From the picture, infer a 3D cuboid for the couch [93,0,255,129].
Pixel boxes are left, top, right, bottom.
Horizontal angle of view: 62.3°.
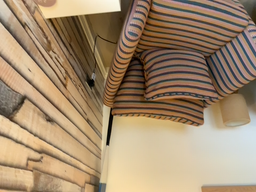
[{"bbox_3d":[0.290,-0.310,1.420,0.860,0.780,0.780,8,152,-17],"label":"couch"}]
